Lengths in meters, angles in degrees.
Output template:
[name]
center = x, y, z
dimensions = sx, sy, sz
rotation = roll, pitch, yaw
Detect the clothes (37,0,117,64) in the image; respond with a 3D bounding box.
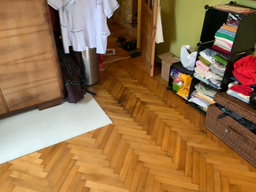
[clothes]
center = -0.540, -0.880, 2.410
dimensions = 0.780, 0.940, 0.320
rotation = -3, 33, -6
